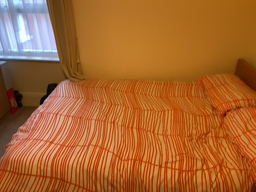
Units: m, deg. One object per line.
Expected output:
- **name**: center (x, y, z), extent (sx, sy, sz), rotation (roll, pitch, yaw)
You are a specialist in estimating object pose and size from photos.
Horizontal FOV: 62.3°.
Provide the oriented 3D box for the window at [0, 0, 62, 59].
- **window**: center (-1.230, -1.240, 2.280), extent (0.810, 1.690, 0.060), rotation (2, 28, 3)
